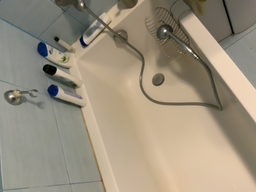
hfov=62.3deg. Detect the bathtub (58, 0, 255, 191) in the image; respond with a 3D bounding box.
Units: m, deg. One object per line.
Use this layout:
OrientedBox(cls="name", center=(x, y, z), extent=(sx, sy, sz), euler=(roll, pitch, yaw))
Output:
OrientedBox(cls="bathtub", center=(0.290, 0.270, 1.040), extent=(0.690, 0.580, 1.580), euler=(-36, 60, 18))
